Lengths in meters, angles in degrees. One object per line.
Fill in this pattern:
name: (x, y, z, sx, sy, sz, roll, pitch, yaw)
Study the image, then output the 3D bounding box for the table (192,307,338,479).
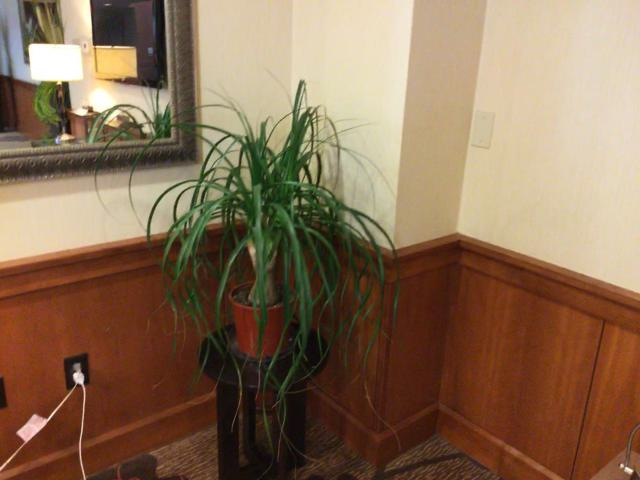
table: (-0.210, 0.580, 2.080, 0.380, 0.540, 0.340, -6, 18, -35)
